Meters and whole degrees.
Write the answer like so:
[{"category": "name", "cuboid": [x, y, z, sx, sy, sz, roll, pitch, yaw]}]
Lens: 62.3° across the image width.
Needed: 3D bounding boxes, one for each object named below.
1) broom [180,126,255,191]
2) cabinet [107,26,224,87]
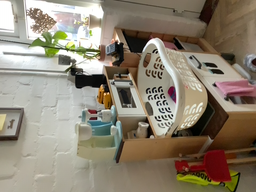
[{"category": "broom", "cuboid": [0.680, 0.380, 1.160, 0.330, 0.640, 0.260, -108, 26, -45]}, {"category": "cabinet", "cuboid": [0.310, -0.340, 1.900, 0.420, 0.900, 0.300, -109, 27, -46]}]
